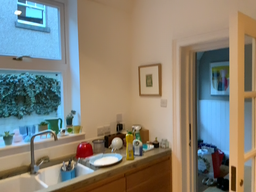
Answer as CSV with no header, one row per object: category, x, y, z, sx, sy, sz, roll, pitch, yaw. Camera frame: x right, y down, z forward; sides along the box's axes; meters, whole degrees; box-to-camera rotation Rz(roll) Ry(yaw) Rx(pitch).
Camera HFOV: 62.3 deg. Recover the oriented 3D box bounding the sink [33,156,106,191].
sink,-0.500,0.690,1.780,0.390,0.170,0.520,-4,4,-44
